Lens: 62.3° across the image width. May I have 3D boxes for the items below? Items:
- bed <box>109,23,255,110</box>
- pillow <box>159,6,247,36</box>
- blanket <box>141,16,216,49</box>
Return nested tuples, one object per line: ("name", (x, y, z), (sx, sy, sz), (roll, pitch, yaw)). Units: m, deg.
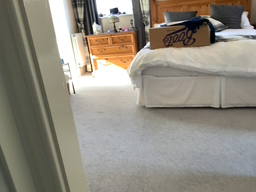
("bed", (1.010, -0.570, 3.050), (1.870, 0.640, 2.270), (-1, 21, 15))
("pillow", (1.140, -1.190, 3.370), (1.230, 0.310, 0.430), (-1, 21, 14))
("blanket", (0.550, -0.710, 2.340), (0.690, 0.240, 0.630), (0, 21, 15))
